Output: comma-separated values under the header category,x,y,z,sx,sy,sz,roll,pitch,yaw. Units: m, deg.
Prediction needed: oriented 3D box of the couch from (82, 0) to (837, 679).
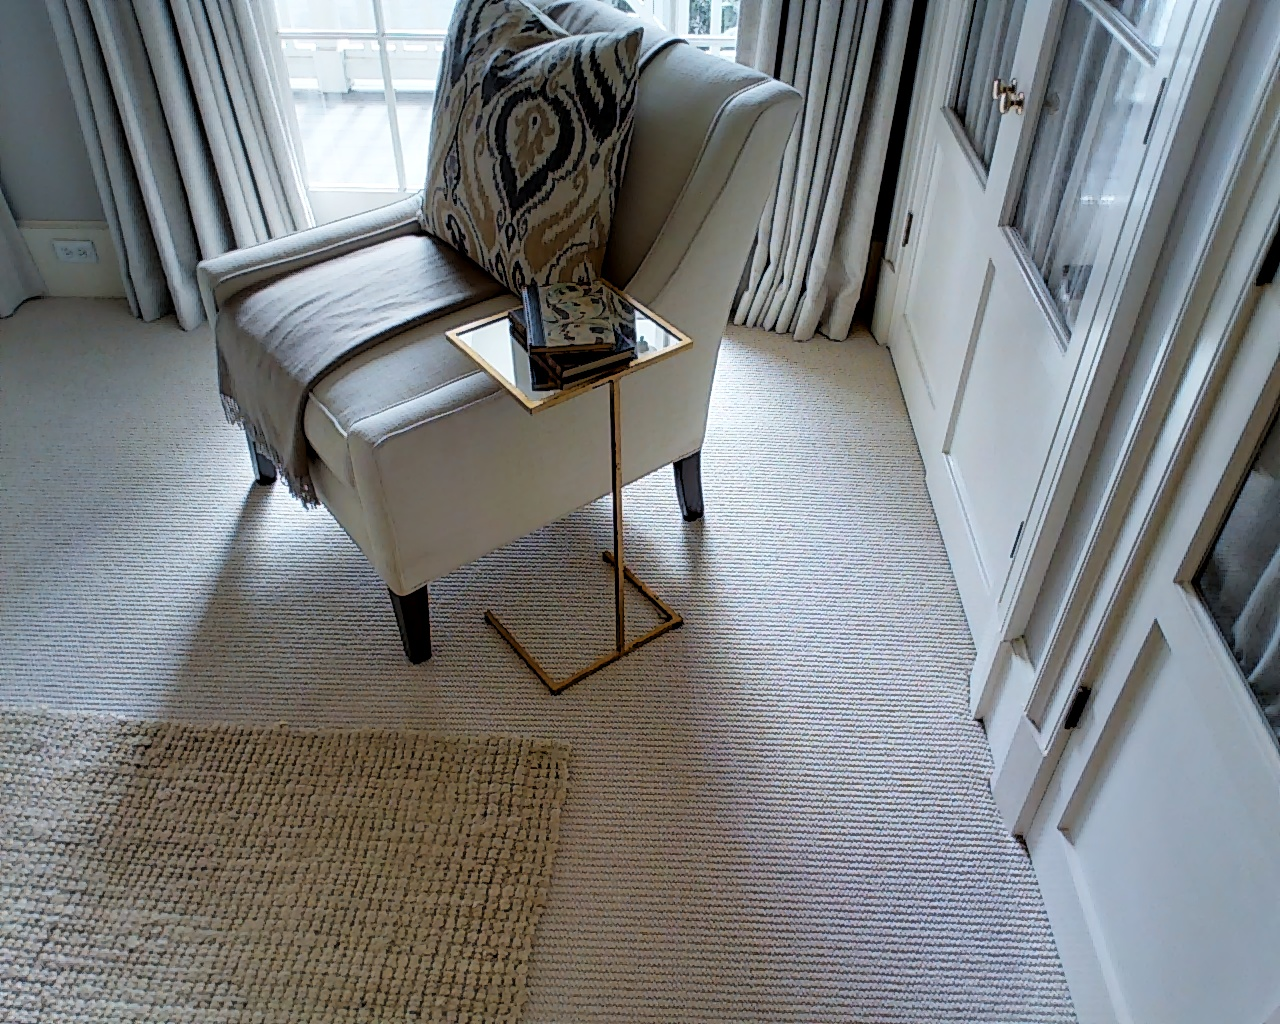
category,x,y,z,sx,sy,sz,roll,pitch,yaw
couch,-0.320,-0.490,2.160,0.970,1.020,0.860,-27,49,-27

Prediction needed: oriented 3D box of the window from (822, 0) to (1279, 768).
category,x,y,z,sx,sy,sz,roll,pitch,yaw
window,0.610,-0.880,1.720,0.240,2.200,1.520,1,42,1

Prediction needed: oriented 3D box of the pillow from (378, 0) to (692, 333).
category,x,y,z,sx,sy,sz,roll,pitch,yaw
pillow,-0.230,-0.730,2.030,0.250,0.490,0.550,-24,73,-29
